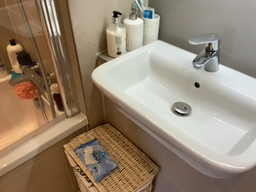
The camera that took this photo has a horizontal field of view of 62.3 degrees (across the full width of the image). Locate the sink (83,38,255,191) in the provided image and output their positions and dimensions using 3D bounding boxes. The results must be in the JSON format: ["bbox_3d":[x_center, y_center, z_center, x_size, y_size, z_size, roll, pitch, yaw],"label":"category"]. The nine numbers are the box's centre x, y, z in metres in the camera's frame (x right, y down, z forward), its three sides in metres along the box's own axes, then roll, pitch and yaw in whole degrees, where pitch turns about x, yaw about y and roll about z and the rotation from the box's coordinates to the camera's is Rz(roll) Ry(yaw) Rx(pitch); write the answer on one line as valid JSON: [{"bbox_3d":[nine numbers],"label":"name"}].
[{"bbox_3d":[0.190,0.020,0.710,0.430,0.150,0.530,-31,48,-32],"label":"sink"}]

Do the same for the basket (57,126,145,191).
[{"bbox_3d":[-0.120,0.470,1.030,0.210,0.530,0.320,-29,47,-31],"label":"basket"}]
